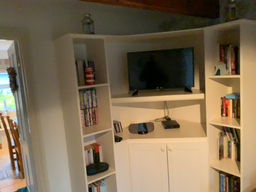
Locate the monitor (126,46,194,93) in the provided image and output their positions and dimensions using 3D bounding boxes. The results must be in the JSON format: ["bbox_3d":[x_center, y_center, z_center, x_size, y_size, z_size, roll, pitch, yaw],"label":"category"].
[{"bbox_3d":[0.360,-0.290,2.370,0.720,0.460,0.050,-4,8,4],"label":"monitor"}]
